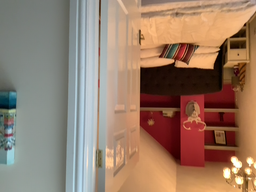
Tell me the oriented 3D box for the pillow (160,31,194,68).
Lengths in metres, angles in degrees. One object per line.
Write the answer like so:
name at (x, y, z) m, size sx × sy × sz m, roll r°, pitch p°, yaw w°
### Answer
pillow at (0.820, -0.770, 3.540) m, size 0.460 × 0.420 × 0.230 m, roll -25°, pitch -130°, yaw -5°

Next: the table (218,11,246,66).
table at (1.790, -0.960, 3.700) m, size 0.340 × 0.530 × 0.790 m, roll 0°, pitch -92°, yaw 14°
